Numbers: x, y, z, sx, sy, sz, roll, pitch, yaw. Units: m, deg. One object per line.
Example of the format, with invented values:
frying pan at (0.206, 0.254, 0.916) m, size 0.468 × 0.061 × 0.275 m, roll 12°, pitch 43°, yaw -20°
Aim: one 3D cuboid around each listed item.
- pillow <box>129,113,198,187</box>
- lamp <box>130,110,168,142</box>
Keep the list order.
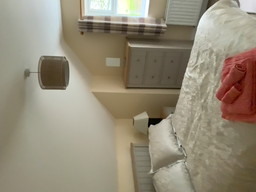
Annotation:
pillow at (0.410, 0.640, 2.710) m, size 0.200 × 0.480 × 0.850 m, roll 50°, pitch 180°, yaw -35°
lamp at (0.310, 0.470, 3.360) m, size 0.360 × 0.500 × 0.350 m, roll -100°, pitch 13°, yaw -58°
